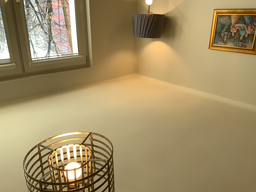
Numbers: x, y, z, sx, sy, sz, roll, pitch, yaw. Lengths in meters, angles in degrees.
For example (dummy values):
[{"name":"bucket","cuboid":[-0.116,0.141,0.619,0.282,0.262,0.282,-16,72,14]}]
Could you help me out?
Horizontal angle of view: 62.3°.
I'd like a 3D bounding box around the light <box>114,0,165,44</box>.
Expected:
[{"name":"light","cuboid":[0.140,-1.400,2.460,0.450,1.490,0.410,-17,-153,-38]}]
